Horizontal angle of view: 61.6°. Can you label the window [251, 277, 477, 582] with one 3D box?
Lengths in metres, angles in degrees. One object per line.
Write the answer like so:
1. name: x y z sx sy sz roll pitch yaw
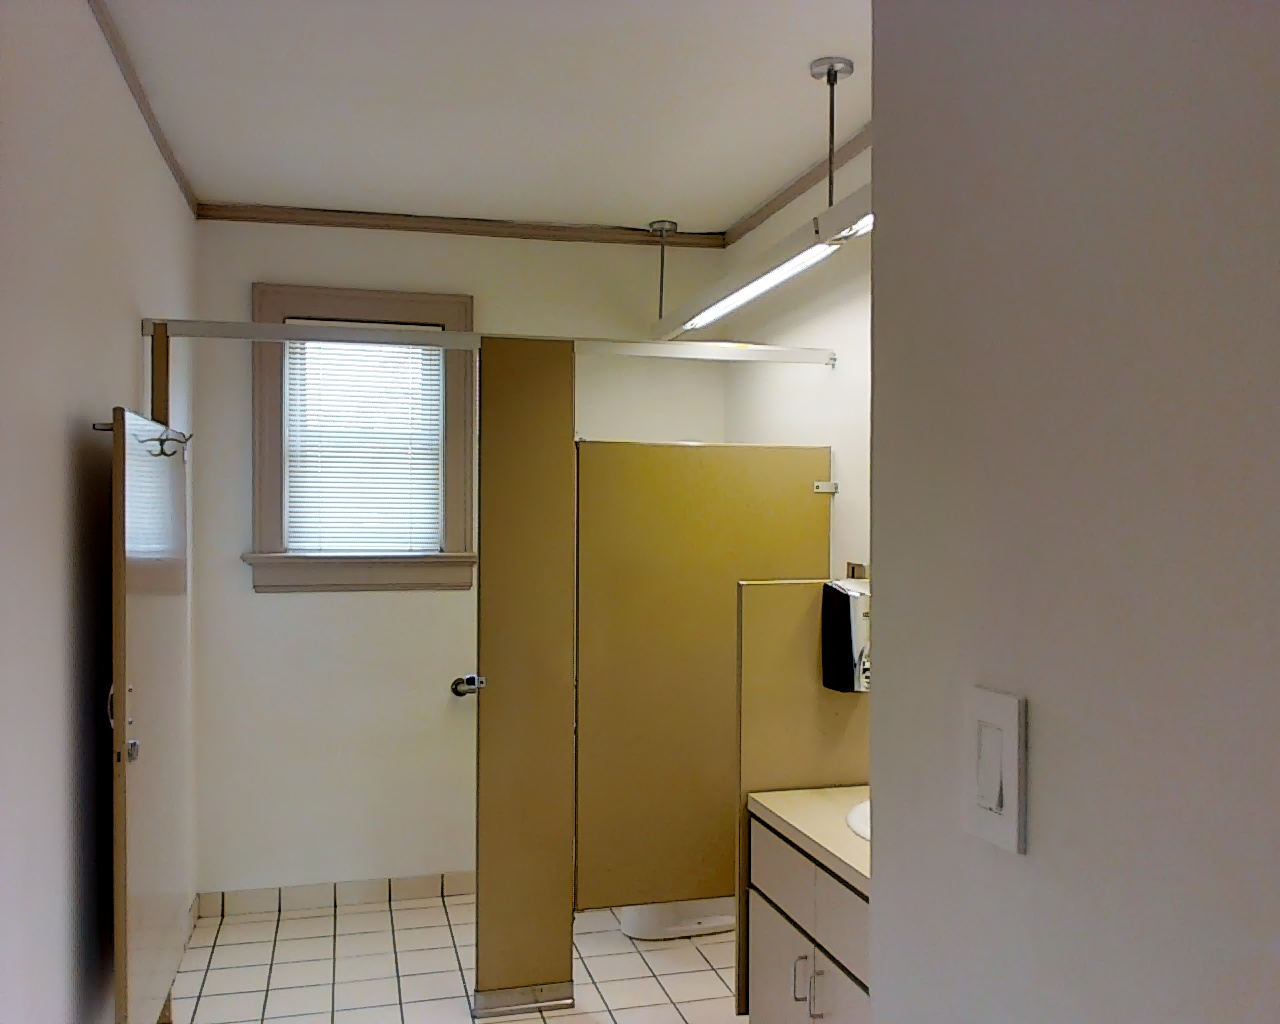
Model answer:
1. window: -1.080 -0.310 4.240 0.840 1.160 0.100 1 0 -16
